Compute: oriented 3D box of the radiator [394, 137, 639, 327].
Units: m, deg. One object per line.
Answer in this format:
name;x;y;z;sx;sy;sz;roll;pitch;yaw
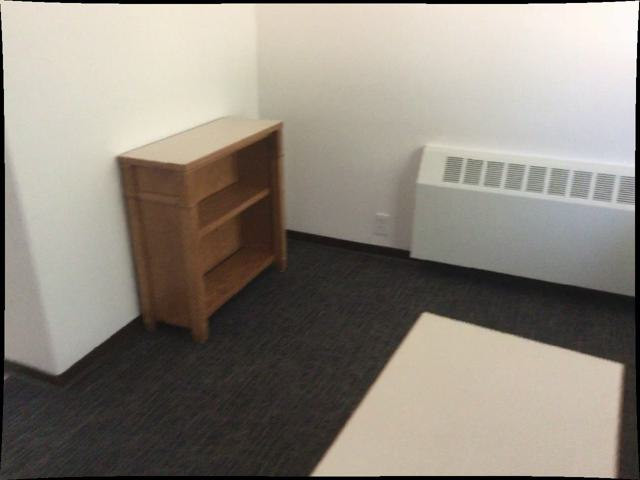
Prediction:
radiator;1.368;0.020;2.440;2.087;0.671;0.210;10;28;21
